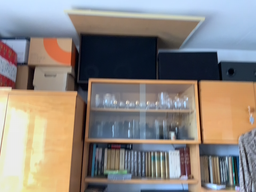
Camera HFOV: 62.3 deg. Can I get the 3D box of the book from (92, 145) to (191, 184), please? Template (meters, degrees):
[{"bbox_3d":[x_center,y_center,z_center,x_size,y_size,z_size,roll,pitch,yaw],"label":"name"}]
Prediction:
[{"bbox_3d":[0.110,0.550,1.750,0.760,0.270,0.190,0,-13,5],"label":"book"}]

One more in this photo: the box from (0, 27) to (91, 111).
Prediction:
[{"bbox_3d":[-0.730,-0.200,1.740,0.730,0.580,0.390,1,-13,3],"label":"box"}]
